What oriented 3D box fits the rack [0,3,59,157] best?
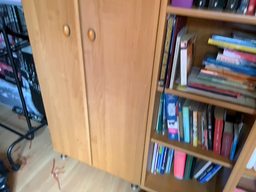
[{"bbox_3d":[-1.230,-0.220,1.660,1.290,0.970,0.360,17,36,21],"label":"rack"}]
